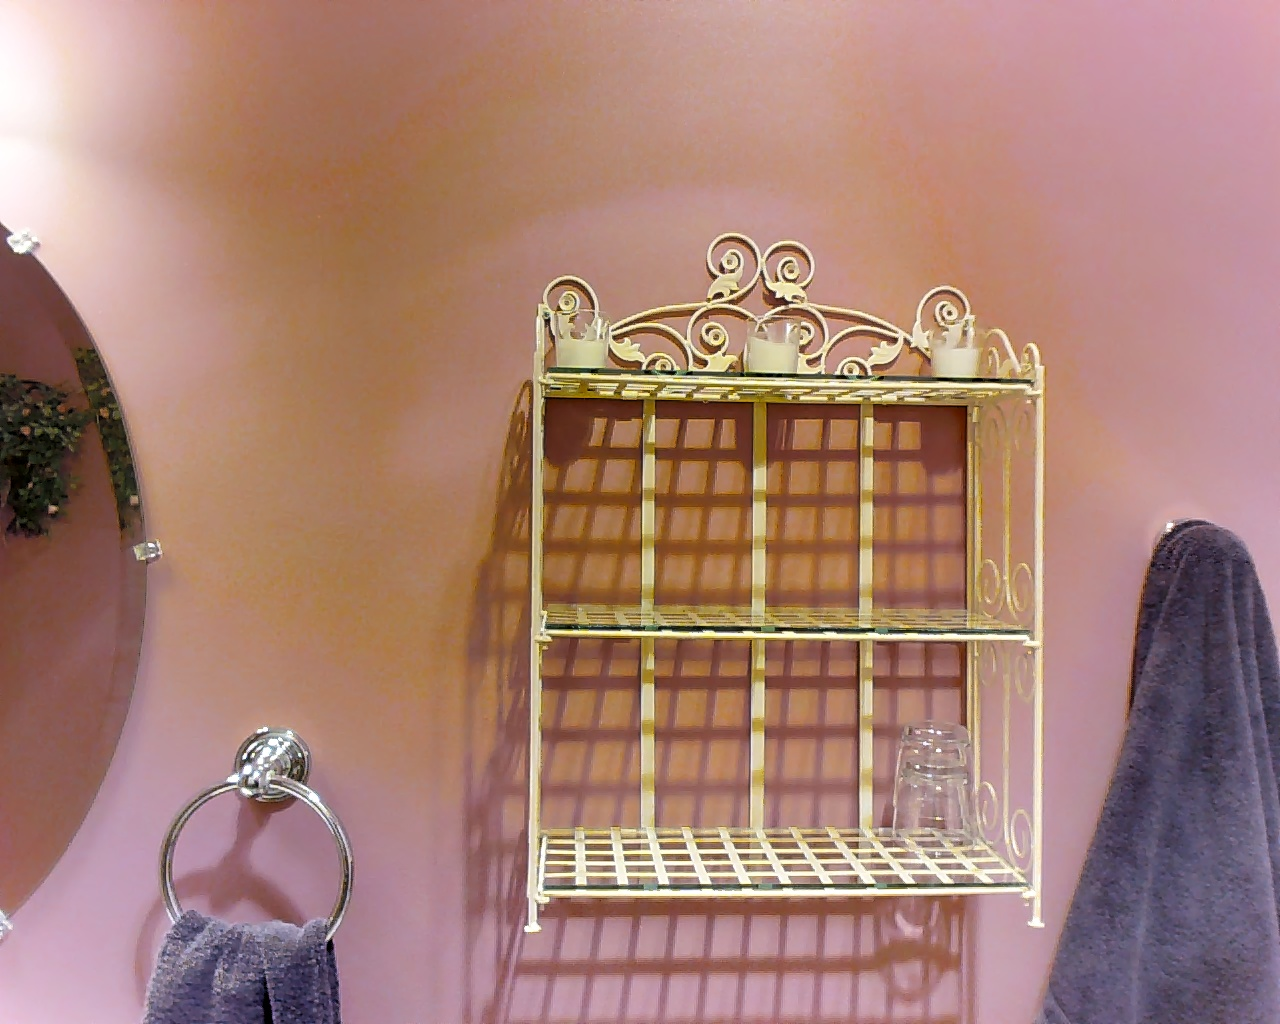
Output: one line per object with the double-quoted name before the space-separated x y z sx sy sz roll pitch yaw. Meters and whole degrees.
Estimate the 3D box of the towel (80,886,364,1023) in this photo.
"towel" -0.360 0.530 0.950 0.200 0.350 0.140 1 0 -4

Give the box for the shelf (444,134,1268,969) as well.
"shelf" 0.150 0.030 0.920 0.580 0.580 0.320 1 0 -2
